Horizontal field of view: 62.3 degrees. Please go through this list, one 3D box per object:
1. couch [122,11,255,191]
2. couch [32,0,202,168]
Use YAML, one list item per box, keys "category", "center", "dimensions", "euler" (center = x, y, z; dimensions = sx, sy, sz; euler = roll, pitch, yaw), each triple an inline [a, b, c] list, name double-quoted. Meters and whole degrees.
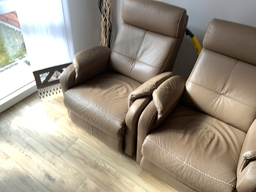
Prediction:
- category: "couch"
  center: [0.530, 0.120, 1.450]
  dimensions: [0.710, 0.980, 0.890]
  euler: [27, 45, 23]
- category: "couch"
  center: [-0.050, -0.200, 1.750]
  dimensions: [0.750, 0.990, 0.900]
  euler: [27, 45, 23]
